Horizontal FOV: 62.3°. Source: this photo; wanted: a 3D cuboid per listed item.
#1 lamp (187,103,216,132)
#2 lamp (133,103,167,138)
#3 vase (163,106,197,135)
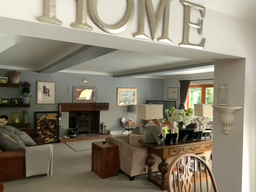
[{"bbox_3d":[1.560,0.440,4.520,0.490,0.550,0.340,0,1,-28],"label":"lamp"},{"bbox_3d":[0.400,0.420,3.880,0.520,0.580,0.300,0,1,-29],"label":"lamp"},{"bbox_3d":[1.010,0.460,4.120,0.440,0.490,0.460,0,1,-28],"label":"vase"}]
